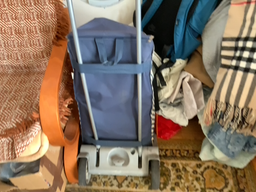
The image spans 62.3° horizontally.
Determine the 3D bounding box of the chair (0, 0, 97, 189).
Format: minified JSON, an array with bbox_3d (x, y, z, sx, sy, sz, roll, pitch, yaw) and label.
[{"bbox_3d":[-0.580,-0.170,0.930,0.670,0.970,0.810,-1,49,2],"label":"chair"}]
